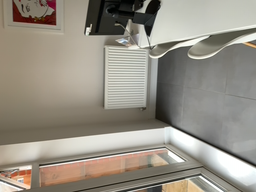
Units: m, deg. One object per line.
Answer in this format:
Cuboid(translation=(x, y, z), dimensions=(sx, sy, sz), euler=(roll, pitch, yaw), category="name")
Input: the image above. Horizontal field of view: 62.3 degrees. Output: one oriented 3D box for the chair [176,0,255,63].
Cuboid(translation=(0.750, -0.460, 1.230), dimensions=(0.440, 0.780, 0.500), euler=(-162, 71, -66), category="chair")
